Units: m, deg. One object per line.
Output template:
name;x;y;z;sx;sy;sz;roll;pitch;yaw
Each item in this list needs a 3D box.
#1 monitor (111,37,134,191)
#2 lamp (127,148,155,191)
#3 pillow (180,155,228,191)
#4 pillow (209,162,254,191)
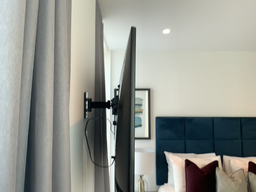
monitor;-0.060;0.140;1.210;0.040;0.610;1.080;1;-3;-6
lamp;0.150;0.970;2.630;0.310;0.600;0.270;0;-3;-4
pillow;0.790;0.890;2.220;0.370;0.420;0.140;16;-6;-1
pillow;1.040;0.900;2.150;0.330;0.340;0.150;15;-6;-4
